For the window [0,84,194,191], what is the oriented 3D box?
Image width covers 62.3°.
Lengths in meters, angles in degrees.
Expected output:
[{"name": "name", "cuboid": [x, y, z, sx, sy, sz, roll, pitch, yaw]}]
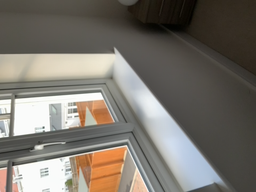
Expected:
[{"name": "window", "cuboid": [-0.440, 0.260, 1.140, 1.070, 1.210, 0.070, -125, 38, -50]}]
